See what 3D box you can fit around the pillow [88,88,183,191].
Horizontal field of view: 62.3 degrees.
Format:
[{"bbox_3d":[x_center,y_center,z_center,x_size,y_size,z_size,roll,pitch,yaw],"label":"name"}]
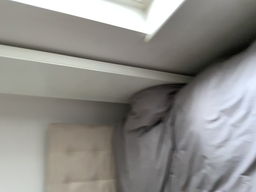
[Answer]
[{"bbox_3d":[0.060,0.460,1.480,0.240,0.470,0.910,15,-121,-64],"label":"pillow"}]
